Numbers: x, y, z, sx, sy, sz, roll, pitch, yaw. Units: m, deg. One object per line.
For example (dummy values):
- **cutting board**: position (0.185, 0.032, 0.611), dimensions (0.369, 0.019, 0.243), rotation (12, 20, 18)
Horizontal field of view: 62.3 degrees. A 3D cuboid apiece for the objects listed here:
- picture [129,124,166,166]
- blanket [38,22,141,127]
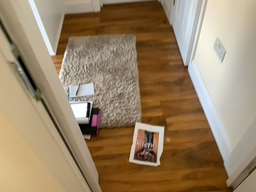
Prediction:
- **picture**: position (0.130, 0.320, 1.420), dimensions (0.230, 0.020, 0.280), rotation (2, 49, 5)
- **blanket**: position (-0.290, -0.300, 1.980), dimensions (0.740, 0.050, 1.320), rotation (-2, 49, 1)
